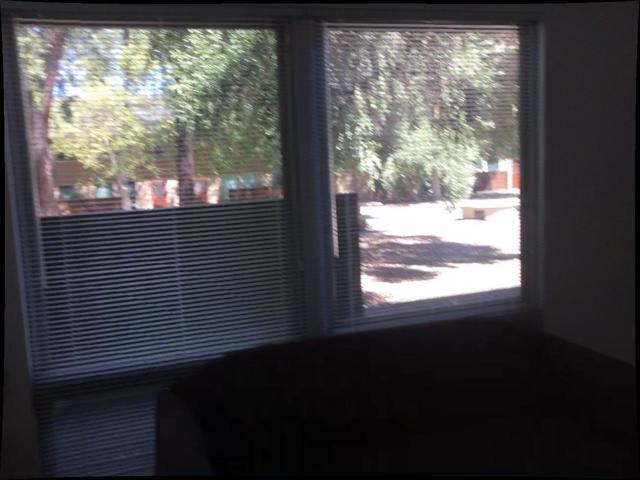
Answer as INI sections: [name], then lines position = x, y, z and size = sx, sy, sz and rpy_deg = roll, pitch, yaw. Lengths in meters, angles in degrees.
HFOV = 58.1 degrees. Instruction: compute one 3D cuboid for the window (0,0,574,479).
[window]
position = -0.050, -0.060, 2.600
size = 2.376, 1.993, 0.470
rpy_deg = -6, 10, -13
